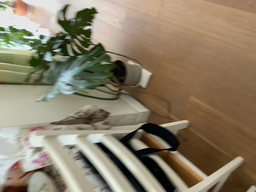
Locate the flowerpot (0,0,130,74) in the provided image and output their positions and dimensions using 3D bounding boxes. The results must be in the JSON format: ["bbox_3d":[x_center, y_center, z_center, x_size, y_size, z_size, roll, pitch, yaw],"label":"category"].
[{"bbox_3d":[-0.460,-0.450,1.600,0.480,0.760,0.360,38,116,36],"label":"flowerpot"}]

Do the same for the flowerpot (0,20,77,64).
[{"bbox_3d":[-1.100,-0.560,2.120,0.460,1.030,0.210,39,117,36],"label":"flowerpot"}]
